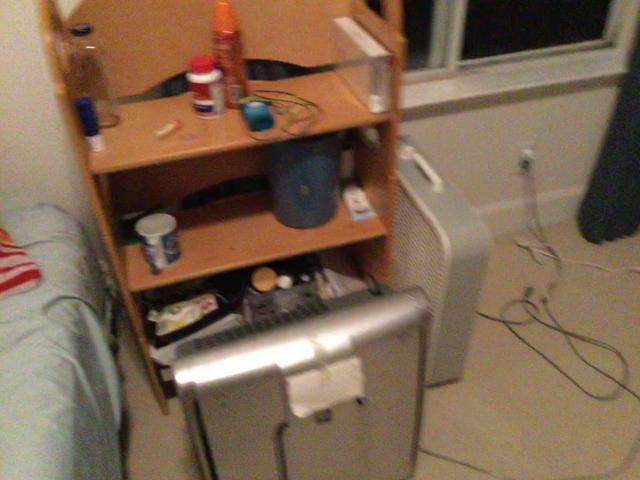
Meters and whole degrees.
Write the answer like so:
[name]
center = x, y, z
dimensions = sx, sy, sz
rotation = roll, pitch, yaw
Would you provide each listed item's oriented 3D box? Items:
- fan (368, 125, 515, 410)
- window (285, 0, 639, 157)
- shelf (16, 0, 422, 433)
[fan]
center = 0.280, 0.060, 1.540
dimensions = 0.160, 0.560, 0.490
rotation = -10, 35, -10
[window]
center = 0.430, -0.750, 1.530
dimensions = 1.030, 0.890, 0.250
rotation = -10, 35, -10
[shelf]
center = -0.170, -0.120, 1.380
dimensions = 0.660, 1.070, 0.410
rotation = -10, 35, -10
